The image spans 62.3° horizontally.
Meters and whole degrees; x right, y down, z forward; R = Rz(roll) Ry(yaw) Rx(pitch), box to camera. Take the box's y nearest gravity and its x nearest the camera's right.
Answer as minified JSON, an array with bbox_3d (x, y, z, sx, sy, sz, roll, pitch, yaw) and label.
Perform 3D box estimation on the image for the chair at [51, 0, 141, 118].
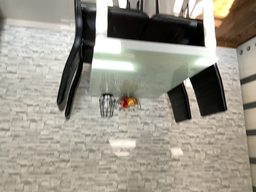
[{"bbox_3d":[-0.210,-0.380,1.440,0.480,1.000,0.410,4,167,-16],"label":"chair"}]

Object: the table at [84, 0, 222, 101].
[{"bbox_3d":[0.050,-0.450,1.720,0.740,0.740,1.100,3,167,-12],"label":"table"}]

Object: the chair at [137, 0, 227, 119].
[{"bbox_3d":[0.350,-0.350,1.590,0.480,0.990,0.410,3,167,-11],"label":"chair"}]
